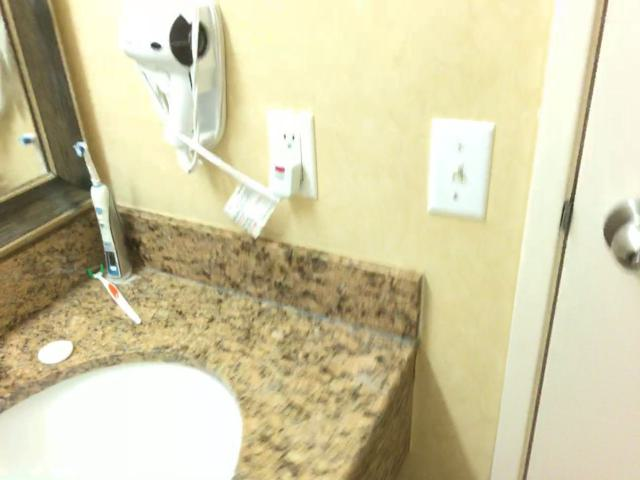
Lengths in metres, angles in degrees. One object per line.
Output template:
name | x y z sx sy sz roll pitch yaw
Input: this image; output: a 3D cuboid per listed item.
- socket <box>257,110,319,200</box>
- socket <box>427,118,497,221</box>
socket | -0.040 -0.110 0.750 0.070 0.110 0.020 9 30 25
socket | 0.160 -0.080 0.660 0.070 0.110 0.020 9 30 25
